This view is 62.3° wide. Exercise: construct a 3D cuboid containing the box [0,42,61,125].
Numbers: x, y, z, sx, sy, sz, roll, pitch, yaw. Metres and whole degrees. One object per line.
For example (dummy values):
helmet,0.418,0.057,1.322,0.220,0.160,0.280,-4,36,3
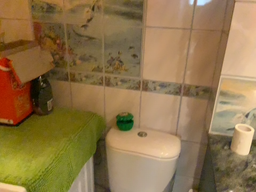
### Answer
box,-0.480,-0.080,1.030,0.140,0.310,0.300,8,23,13
